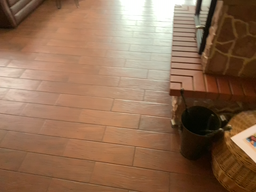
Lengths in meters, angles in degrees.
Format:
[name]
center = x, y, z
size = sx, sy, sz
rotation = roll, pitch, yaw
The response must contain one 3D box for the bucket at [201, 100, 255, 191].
[bucket]
center = 0.740, 0.350, 1.270
size = 0.440, 0.430, 0.450
rotation = 4, 46, 5
